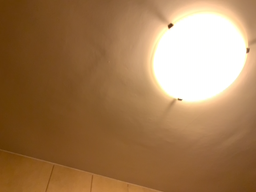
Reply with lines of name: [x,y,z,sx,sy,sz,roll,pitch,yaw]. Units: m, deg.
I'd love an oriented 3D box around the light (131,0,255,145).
light: [0.280,-0.120,0.840,0.150,0.420,0.530,35,34,19]
